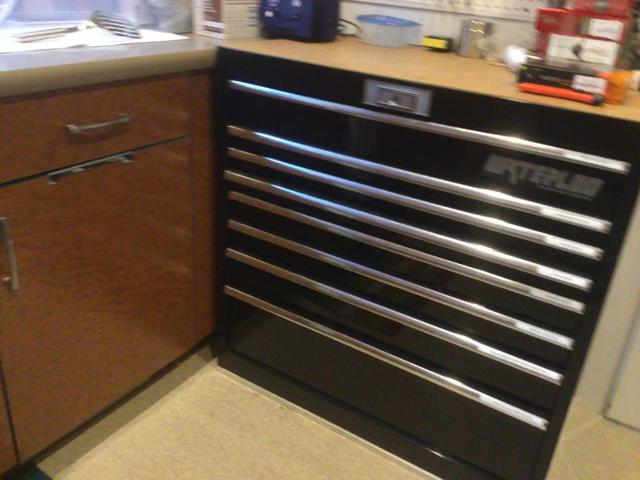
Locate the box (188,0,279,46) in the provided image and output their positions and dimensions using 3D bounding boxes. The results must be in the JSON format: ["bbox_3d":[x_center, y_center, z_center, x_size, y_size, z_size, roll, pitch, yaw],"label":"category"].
[{"bbox_3d":[-0.220,-0.570,1.480,0.140,0.110,0.190,18,28,25],"label":"box"}]
